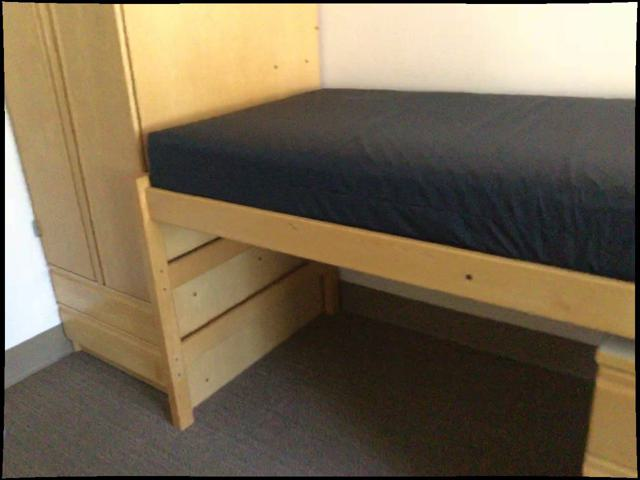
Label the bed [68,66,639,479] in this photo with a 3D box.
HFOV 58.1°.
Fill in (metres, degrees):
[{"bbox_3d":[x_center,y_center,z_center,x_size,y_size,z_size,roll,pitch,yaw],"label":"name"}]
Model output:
[{"bbox_3d":[0.539,0.221,1.690,2.346,1.132,1.020,15,31,32],"label":"bed"}]
